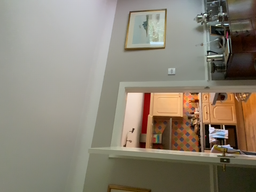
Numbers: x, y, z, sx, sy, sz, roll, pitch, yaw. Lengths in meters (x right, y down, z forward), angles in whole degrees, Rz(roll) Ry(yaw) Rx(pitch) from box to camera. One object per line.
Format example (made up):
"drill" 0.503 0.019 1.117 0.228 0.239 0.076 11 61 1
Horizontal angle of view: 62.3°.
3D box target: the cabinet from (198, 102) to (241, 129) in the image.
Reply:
"cabinet" 2.150 0.470 5.080 0.450 0.860 0.500 63 -149 -61

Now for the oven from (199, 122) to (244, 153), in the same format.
"oven" 2.100 0.950 4.860 0.450 0.850 0.570 63 -149 -61
